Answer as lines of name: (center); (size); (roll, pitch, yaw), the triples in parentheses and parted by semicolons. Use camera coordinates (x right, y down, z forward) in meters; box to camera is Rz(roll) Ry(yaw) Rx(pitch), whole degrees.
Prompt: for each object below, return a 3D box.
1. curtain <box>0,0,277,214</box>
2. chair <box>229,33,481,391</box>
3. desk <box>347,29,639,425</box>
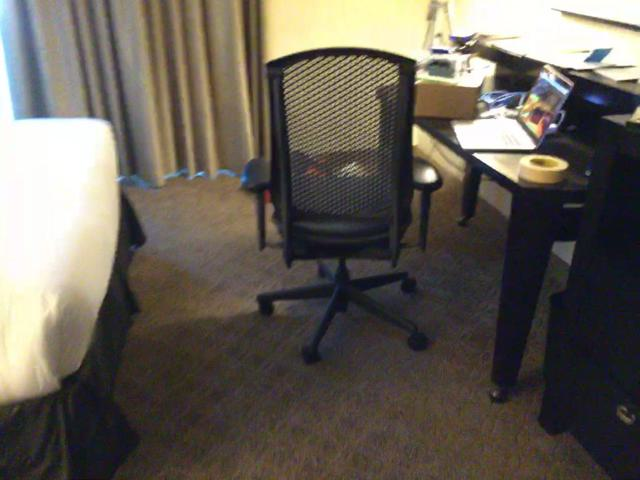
curtain: (-1.710, -0.990, 3.010); (2.880, 1.630, 0.500); (-6, 24, -14)
chair: (0.050, -0.160, 2.100); (0.670, 1.070, 0.760); (-4, 23, -9)
desk: (0.660, -0.240, 2.300); (0.670, 1.050, 1.510); (-6, 24, -14)
